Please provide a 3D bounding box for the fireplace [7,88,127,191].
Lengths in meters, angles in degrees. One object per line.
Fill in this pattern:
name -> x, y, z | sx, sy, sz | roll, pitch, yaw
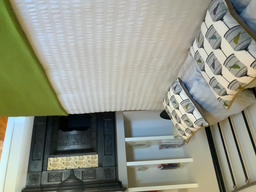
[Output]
fireplace -> -0.700, 0.570, 2.730 | 1.270, 1.240, 0.430 | -3, 154, -4
